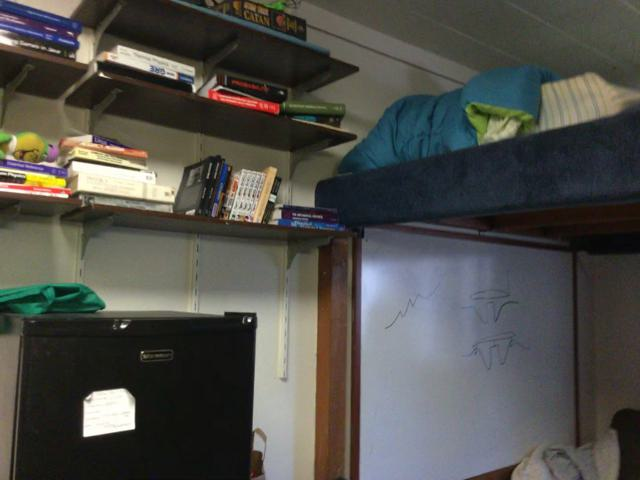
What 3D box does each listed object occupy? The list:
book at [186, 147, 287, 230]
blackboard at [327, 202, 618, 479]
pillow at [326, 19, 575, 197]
[{"bbox_3d":[-0.290,-0.170,2.020,0.280,0.220,0.190,8,-10,-37],"label":"book"},{"bbox_3d":[0.900,0.650,2.870,2.080,1.370,0.130,8,-10,-37],"label":"blackboard"},{"bbox_3d":[0.450,-0.430,2.170,0.420,0.360,0.820,8,-10,-37],"label":"pillow"}]
